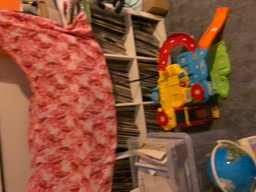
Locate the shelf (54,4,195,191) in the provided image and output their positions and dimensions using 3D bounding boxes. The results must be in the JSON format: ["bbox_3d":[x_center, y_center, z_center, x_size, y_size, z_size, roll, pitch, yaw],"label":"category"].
[{"bbox_3d":[-0.090,0.130,1.850,0.750,0.730,1.440,-17,80,55],"label":"shelf"}]
